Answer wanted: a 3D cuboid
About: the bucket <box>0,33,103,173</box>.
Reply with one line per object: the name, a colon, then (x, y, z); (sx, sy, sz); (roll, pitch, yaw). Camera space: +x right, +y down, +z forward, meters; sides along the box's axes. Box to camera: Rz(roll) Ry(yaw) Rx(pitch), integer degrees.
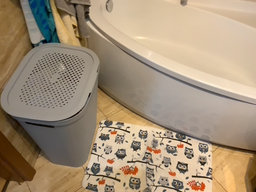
bucket: (-0.340, 0.070, 1.130); (0.310, 0.600, 0.430); (11, 52, 3)
